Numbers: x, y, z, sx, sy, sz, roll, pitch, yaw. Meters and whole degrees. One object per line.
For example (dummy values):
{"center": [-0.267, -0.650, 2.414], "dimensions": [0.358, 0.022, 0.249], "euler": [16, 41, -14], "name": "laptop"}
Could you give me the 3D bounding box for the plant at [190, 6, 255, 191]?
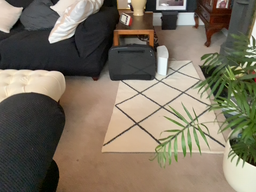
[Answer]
{"center": [0.680, 0.060, 1.060], "dimensions": [0.500, 0.840, 0.600], "euler": [1, 34, 4], "name": "plant"}
